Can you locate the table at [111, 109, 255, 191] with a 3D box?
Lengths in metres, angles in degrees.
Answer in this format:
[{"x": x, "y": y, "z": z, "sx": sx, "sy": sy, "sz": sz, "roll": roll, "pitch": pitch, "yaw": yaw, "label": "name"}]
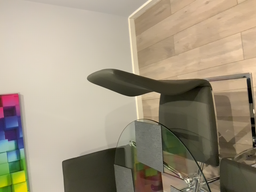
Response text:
[{"x": 0.430, "y": 0.550, "z": 1.430, "sx": 0.860, "sy": 0.710, "sz": 0.860, "roll": -6, "pitch": 89, "yaw": 58, "label": "table"}]
